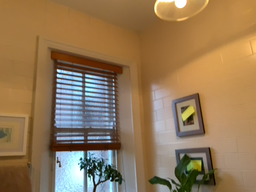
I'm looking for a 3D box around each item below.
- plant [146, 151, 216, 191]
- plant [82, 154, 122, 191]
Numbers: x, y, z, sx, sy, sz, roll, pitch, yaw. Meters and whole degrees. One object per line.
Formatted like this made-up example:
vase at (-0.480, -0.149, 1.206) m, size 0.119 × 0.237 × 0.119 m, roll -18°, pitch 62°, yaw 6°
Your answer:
plant at (0.380, 0.670, 1.560) m, size 0.190 × 0.490 × 0.460 m, roll 8°, pitch -19°, yaw -38°
plant at (-0.210, 0.710, 1.740) m, size 0.300 × 0.440 × 0.140 m, roll 9°, pitch -19°, yaw -40°
